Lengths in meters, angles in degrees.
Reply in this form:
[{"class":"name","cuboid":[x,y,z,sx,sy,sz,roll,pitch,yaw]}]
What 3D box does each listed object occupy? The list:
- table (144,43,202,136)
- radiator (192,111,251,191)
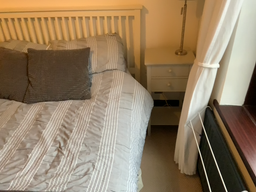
[{"class":"table","cuboid":[0.370,-0.060,2.010,0.430,0.760,0.430,1,32,4]},{"class":"radiator","cuboid":[0.480,0.590,1.080,0.050,0.600,0.920,1,32,4]}]
